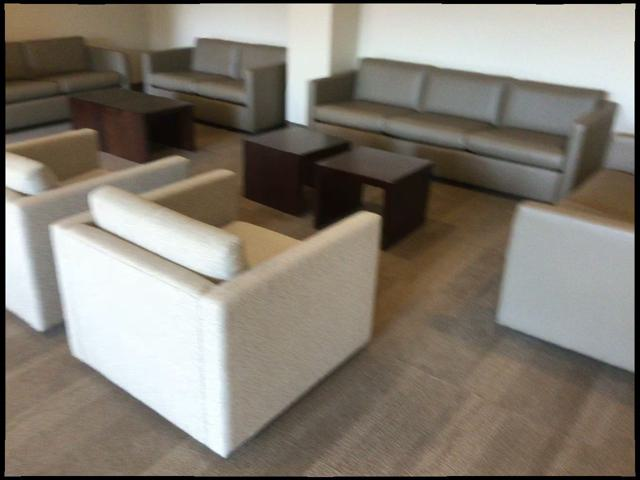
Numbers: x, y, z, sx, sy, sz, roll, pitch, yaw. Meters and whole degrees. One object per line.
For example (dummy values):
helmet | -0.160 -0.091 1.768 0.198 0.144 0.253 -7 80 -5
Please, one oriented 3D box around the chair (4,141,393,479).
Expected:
chair | -0.399 0.170 2.150 0.999 0.731 0.860 17 29 27

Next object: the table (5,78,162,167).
table | -1.886 -0.972 4.630 1.049 0.431 0.600 17 29 27

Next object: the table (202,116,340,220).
table | -0.319 -0.511 3.860 0.649 0.421 0.630 17 29 27

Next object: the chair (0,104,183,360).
chair | -1.297 -0.120 2.670 0.969 0.731 0.800 17 29 27
